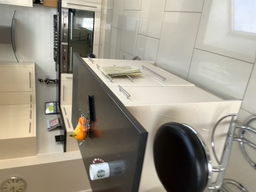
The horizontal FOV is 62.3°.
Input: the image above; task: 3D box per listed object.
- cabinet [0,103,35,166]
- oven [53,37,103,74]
[{"bbox_3d":[-2.060,0.600,3.690,1.280,0.780,0.480,-137,49,-58],"label":"cabinet"},{"bbox_3d":[-1.050,-0.830,4.390,0.570,0.900,0.620,-137,50,-59],"label":"oven"}]
